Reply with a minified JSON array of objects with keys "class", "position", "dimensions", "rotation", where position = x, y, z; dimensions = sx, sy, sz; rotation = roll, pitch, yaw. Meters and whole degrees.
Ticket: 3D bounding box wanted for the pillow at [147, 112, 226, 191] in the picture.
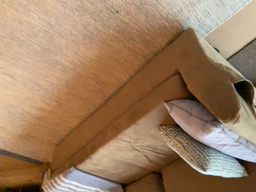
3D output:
[{"class":"pillow","position":[0.350,0.350,1.230],"dimensions":[0.370,0.420,0.150],"rotation":[20,175,-36]}]
